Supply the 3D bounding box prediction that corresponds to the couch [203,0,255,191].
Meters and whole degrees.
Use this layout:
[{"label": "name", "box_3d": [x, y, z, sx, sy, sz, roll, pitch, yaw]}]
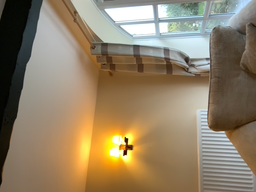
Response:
[{"label": "couch", "box_3d": [1.070, -0.110, 1.500, 1.020, 0.830, 1.170, -40, -50, -76]}]
